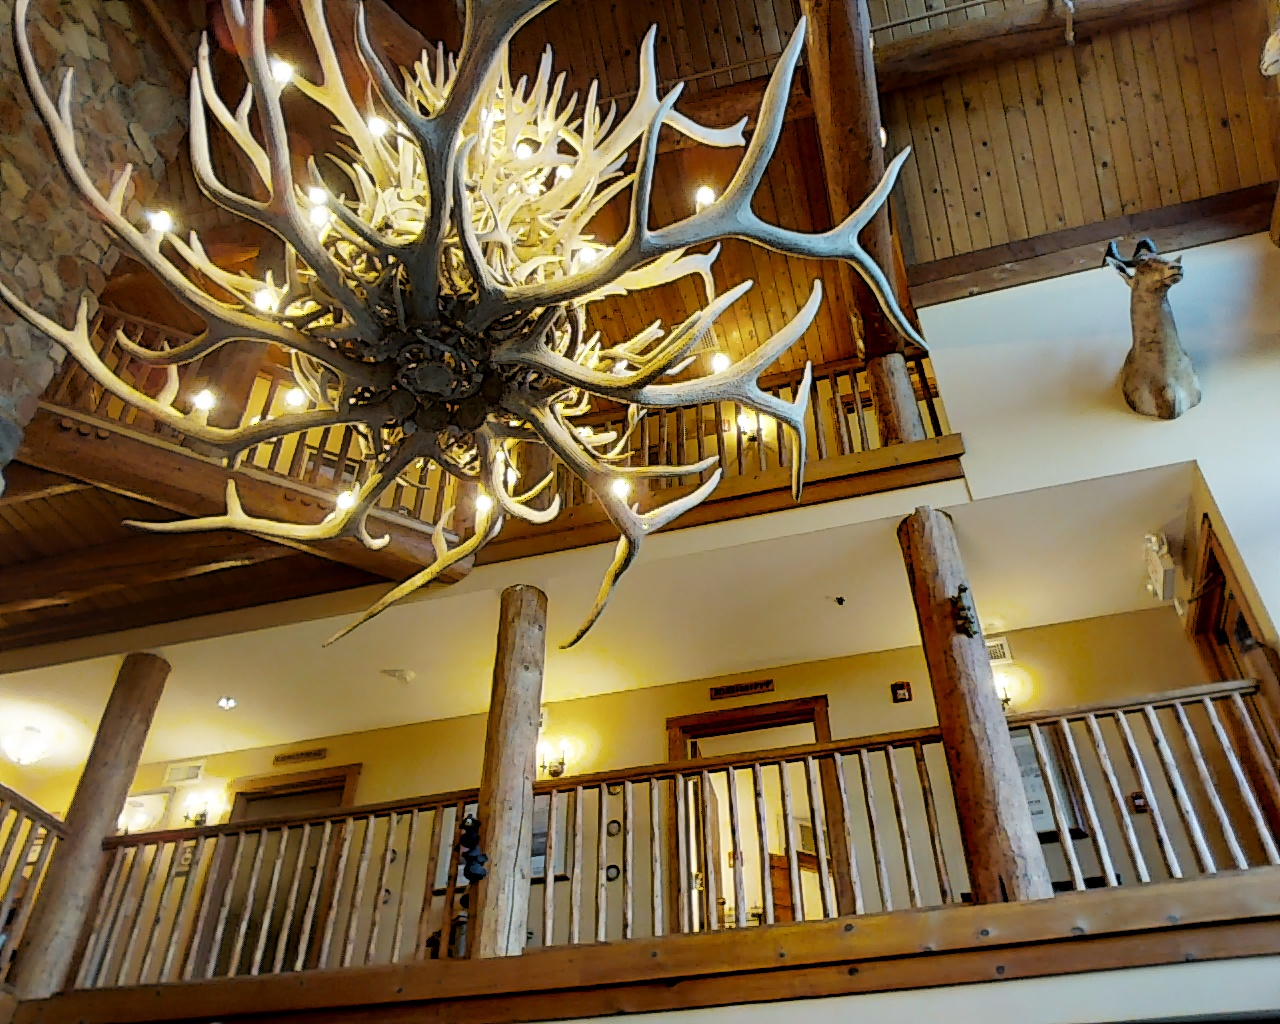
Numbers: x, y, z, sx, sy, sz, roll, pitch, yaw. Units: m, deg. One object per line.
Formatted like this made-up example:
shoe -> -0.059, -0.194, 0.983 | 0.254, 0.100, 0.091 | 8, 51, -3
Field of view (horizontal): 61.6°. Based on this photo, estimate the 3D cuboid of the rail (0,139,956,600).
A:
rail -> -1.149, -1.060, 7.780 | 6.127, 2.641, 1.330 | 5, -42, -5
